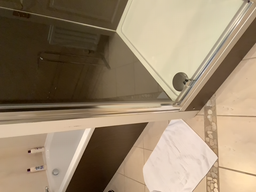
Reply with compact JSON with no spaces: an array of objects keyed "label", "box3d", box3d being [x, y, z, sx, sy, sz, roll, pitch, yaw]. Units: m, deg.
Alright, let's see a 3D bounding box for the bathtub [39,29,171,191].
[{"label":"bathtub","box3d":[-0.380,0.300,2.150,0.710,0.580,1.650,57,132,36]}]
